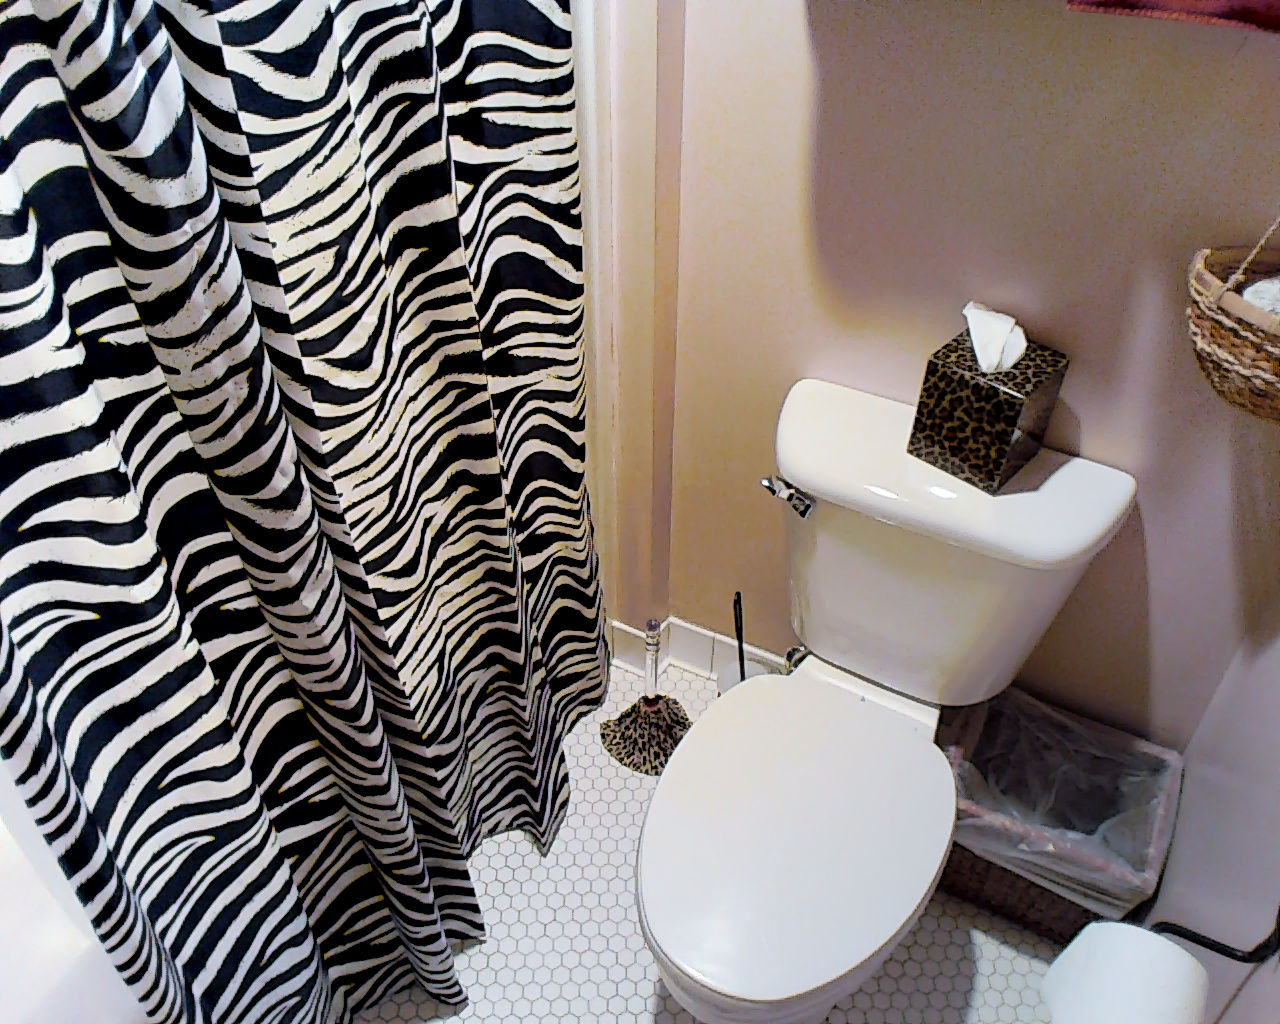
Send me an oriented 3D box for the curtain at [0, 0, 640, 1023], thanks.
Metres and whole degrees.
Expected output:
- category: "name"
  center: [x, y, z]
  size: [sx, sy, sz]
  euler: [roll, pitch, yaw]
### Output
- category: "curtain"
  center: [-0.250, -0.070, 1.100]
  size: [0.180, 1.860, 0.640]
  euler: [20, 45, 23]
